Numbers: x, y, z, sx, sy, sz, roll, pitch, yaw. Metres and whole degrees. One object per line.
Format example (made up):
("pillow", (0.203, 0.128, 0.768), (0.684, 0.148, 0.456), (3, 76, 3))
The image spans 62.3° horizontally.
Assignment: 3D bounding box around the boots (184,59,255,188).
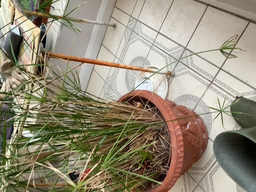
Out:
("boots", (0.400, 0.070, 0.590), (0.260, 0.350, 0.210), (43, 120, 40))
